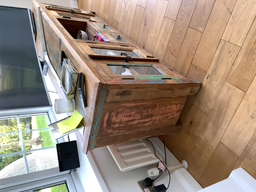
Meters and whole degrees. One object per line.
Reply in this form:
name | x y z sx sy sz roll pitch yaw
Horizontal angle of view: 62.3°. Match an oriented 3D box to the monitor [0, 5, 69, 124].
monitor | -0.880 -0.290 1.410 1.100 0.710 0.070 63 141 32
